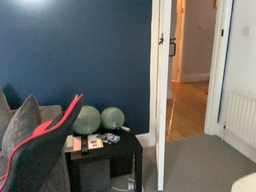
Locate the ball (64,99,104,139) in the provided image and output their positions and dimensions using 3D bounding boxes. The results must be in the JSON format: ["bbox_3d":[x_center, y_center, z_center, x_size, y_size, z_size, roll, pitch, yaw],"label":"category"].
[{"bbox_3d":[-0.390,0.190,1.870,0.300,0.230,0.240,-7,20,-17],"label":"ball"}]

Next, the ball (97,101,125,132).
[{"bbox_3d":[-0.160,0.180,1.960,0.220,0.190,0.230,-5,19,-12],"label":"ball"}]
